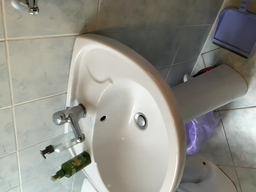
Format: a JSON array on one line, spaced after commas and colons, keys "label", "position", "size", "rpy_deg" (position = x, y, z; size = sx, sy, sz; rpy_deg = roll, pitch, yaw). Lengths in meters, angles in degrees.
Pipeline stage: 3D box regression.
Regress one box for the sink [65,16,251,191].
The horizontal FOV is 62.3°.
[{"label": "sink", "position": [0.000, 0.110, 0.700], "size": [0.450, 0.170, 0.580], "rpy_deg": [40, 131, 31]}]
